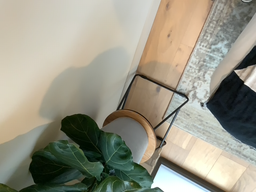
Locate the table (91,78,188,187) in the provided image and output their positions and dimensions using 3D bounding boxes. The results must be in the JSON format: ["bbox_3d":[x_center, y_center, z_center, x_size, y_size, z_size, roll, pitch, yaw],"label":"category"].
[{"bbox_3d":[0.090,0.190,1.350,0.370,0.470,0.390,27,118,14],"label":"table"}]
